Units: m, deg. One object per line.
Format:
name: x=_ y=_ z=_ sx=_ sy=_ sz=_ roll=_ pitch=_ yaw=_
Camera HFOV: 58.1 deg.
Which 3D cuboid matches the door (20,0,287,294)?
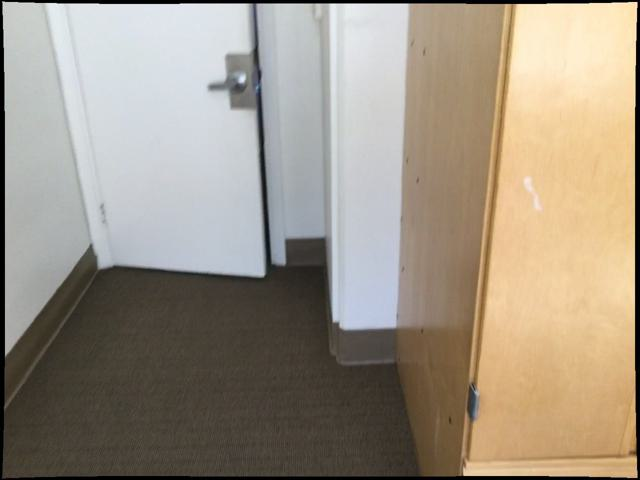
door: x=-0.708 y=-0.642 z=2.540 sx=0.958 sy=1.844 sz=0.240 roll=1 pitch=25 yaw=10
